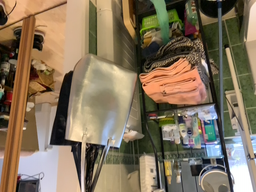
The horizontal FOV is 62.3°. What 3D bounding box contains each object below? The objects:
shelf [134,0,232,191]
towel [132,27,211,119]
[{"bbox_3d":[0.350,0.050,1.420,0.410,1.670,0.460,-10,159,19],"label":"shelf"},{"bbox_3d":[0.320,-0.090,1.410,0.380,0.320,0.630,-9,160,18],"label":"towel"}]
